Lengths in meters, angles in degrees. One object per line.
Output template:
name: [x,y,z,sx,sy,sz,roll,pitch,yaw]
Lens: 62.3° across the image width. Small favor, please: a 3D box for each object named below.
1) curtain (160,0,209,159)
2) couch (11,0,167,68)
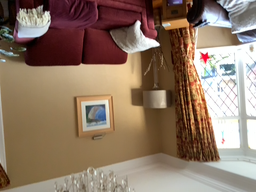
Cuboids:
curtain: [0.920,-0.270,3.530,0.280,2.460,0.600,-5,-179,-33]
couch: [-0.550,-0.960,3.050,1.900,0.970,1.040,-5,-179,-30]
